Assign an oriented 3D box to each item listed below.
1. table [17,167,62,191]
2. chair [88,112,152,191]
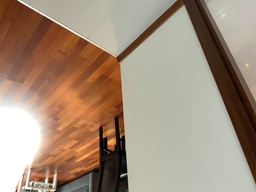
[{"bbox_3d":[-1.660,1.630,3.950,0.490,0.340,0.740,25,135,-36],"label":"table"},{"bbox_3d":[-0.100,0.810,2.390,0.420,1.060,0.540,-31,137,32],"label":"chair"}]
